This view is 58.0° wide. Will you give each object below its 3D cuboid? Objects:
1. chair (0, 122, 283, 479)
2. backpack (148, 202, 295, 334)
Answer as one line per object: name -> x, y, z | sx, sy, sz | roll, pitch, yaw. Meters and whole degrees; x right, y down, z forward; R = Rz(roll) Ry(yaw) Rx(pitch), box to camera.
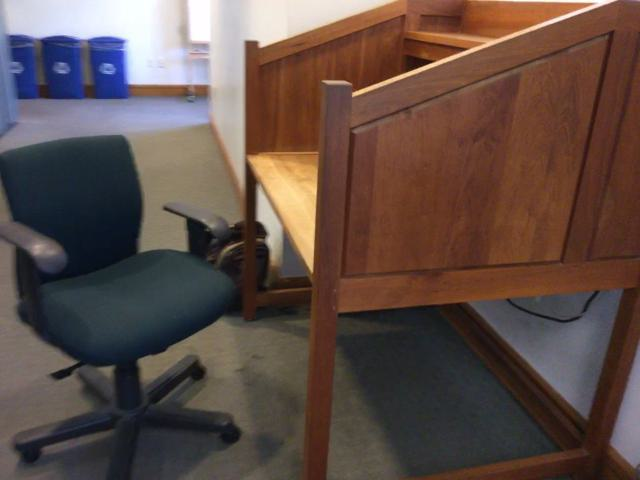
chair -> -0.590, 0.200, 1.740 | 0.680, 0.930, 0.620 | 22, 28, 37
backpack -> -0.440, 0.110, 2.630 | 0.350, 0.440, 0.410 | 33, 15, 19
